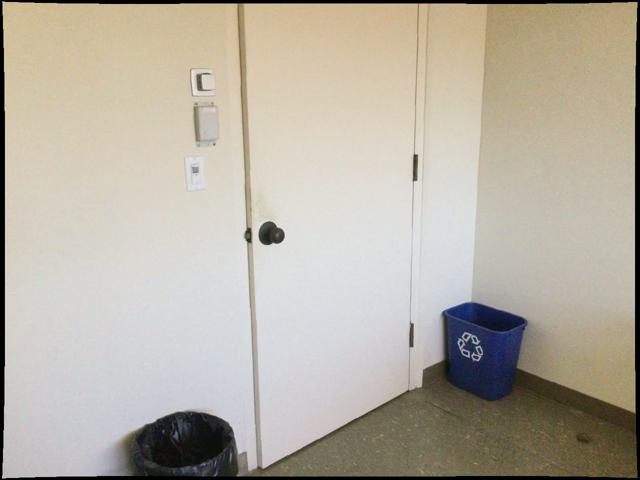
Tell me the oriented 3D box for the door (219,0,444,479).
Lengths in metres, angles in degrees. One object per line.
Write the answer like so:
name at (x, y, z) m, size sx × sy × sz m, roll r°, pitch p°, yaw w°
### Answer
door at (0.130, -0.030, 2.420) m, size 1.049 × 1.814 × 0.110 m, roll -14°, pitch 19°, yaw -38°
